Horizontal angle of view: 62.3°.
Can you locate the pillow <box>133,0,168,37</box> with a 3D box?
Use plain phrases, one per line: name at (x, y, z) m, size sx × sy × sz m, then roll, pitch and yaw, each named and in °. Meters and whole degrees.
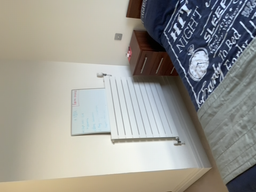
pillow at (0.230, -0.940, 2.020) m, size 0.600 × 0.150 × 0.380 m, roll 108°, pitch 157°, yaw -46°
